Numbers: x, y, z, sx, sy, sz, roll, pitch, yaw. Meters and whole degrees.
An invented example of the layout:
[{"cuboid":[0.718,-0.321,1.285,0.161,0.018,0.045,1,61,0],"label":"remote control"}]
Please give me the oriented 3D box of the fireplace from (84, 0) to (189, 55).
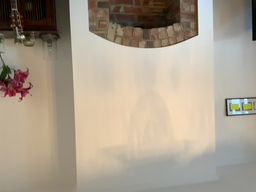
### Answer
[{"cuboid":[0.060,-1.070,2.310,1.040,1.170,0.450,-3,-177,-13],"label":"fireplace"}]
